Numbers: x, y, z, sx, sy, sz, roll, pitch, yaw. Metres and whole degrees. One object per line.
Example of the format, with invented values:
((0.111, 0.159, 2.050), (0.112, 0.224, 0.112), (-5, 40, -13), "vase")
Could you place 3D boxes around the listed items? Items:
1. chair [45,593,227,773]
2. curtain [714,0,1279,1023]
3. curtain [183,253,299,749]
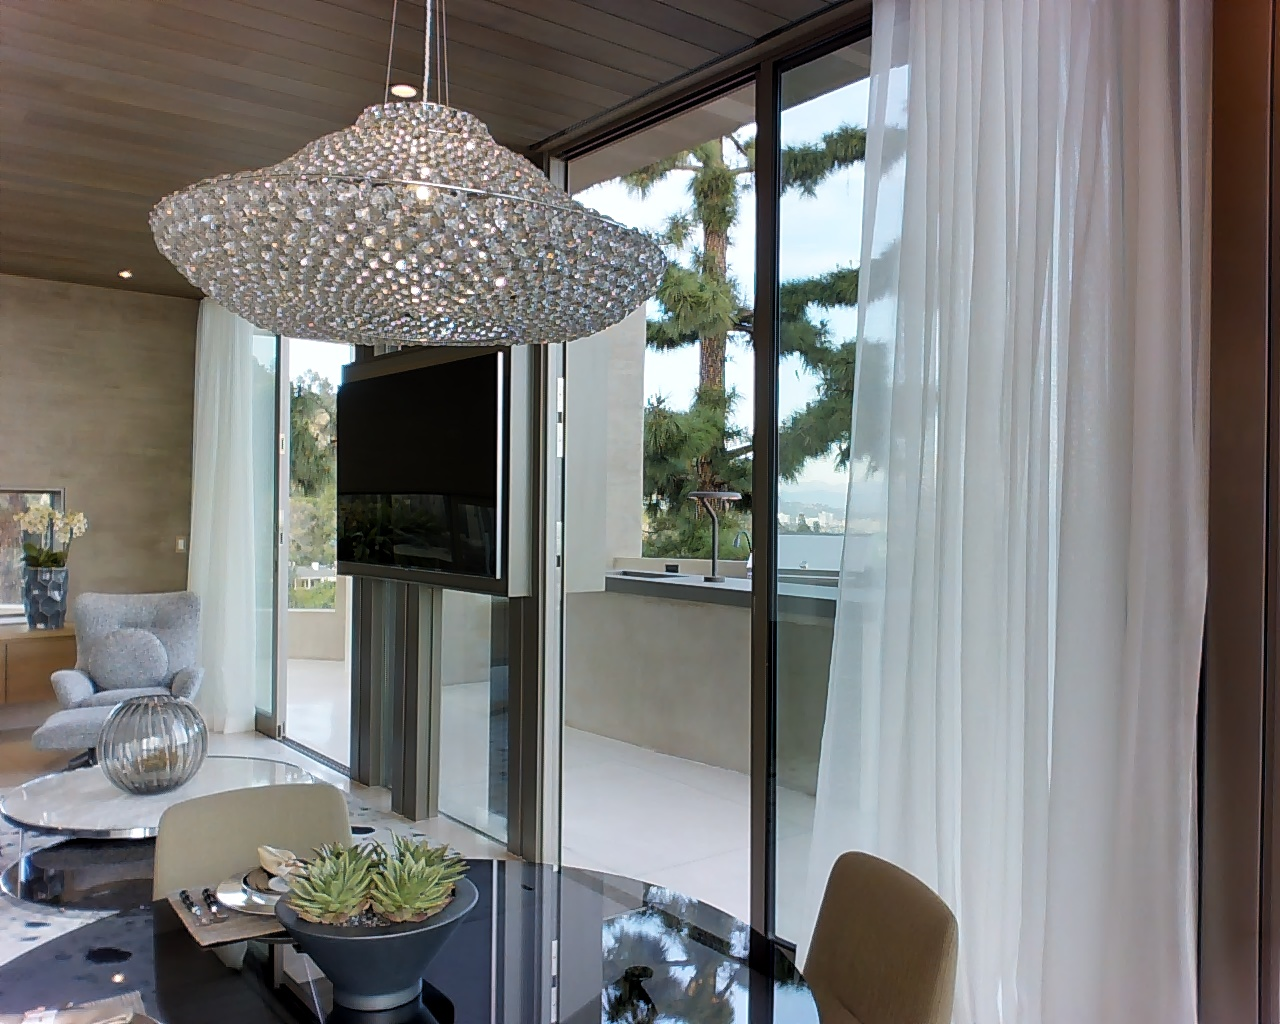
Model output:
((-3.050, 1.000, 6.620), (0.910, 0.920, 1.000), (1, 0, -20), "chair")
((0.910, 0.030, 2.770), (0.270, 3.040, 1.860), (1, 0, -36), "curtain")
((-2.800, -0.070, 7.480), (0.360, 3.140, 1.390), (1, 0, -36), "curtain")
